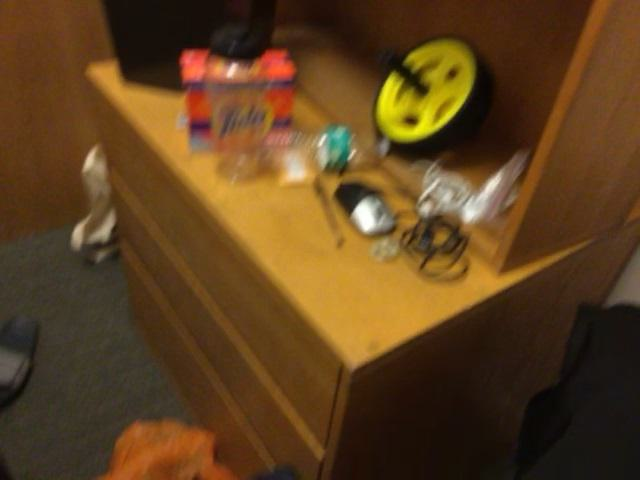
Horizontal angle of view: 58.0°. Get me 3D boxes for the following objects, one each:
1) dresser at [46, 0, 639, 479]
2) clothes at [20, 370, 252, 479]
[{"bbox_3d":[0.000,0.010,1.210,0.670,0.930,0.990,-21,45,-30],"label":"dresser"},{"bbox_3d":[-0.350,0.500,1.150,0.340,0.140,0.370,-21,45,-30],"label":"clothes"}]
